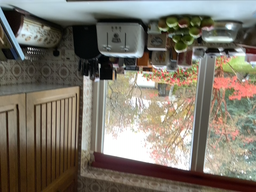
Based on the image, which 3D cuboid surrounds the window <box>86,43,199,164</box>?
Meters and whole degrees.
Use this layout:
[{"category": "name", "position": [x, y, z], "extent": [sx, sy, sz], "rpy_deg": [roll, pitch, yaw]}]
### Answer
[{"category": "window", "position": [0.100, 0.070, 1.790], "extent": [0.870, 0.960, 0.070], "rpy_deg": [4, -172, 3]}]
